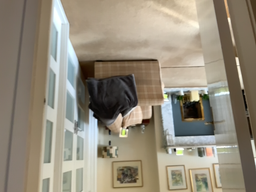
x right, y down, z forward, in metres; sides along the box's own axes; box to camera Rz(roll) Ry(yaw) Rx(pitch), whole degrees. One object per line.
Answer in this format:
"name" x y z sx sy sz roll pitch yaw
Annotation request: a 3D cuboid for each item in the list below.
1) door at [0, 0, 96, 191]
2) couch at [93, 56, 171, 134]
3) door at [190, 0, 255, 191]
"door" -0.690 0.490 2.820 0.220 2.140 3.250 -2 165 -4
"couch" -0.040 0.060 3.560 1.050 0.970 1.280 -1 165 -8
"door" 0.570 0.020 1.320 0.100 2.040 0.820 -7 164 14
